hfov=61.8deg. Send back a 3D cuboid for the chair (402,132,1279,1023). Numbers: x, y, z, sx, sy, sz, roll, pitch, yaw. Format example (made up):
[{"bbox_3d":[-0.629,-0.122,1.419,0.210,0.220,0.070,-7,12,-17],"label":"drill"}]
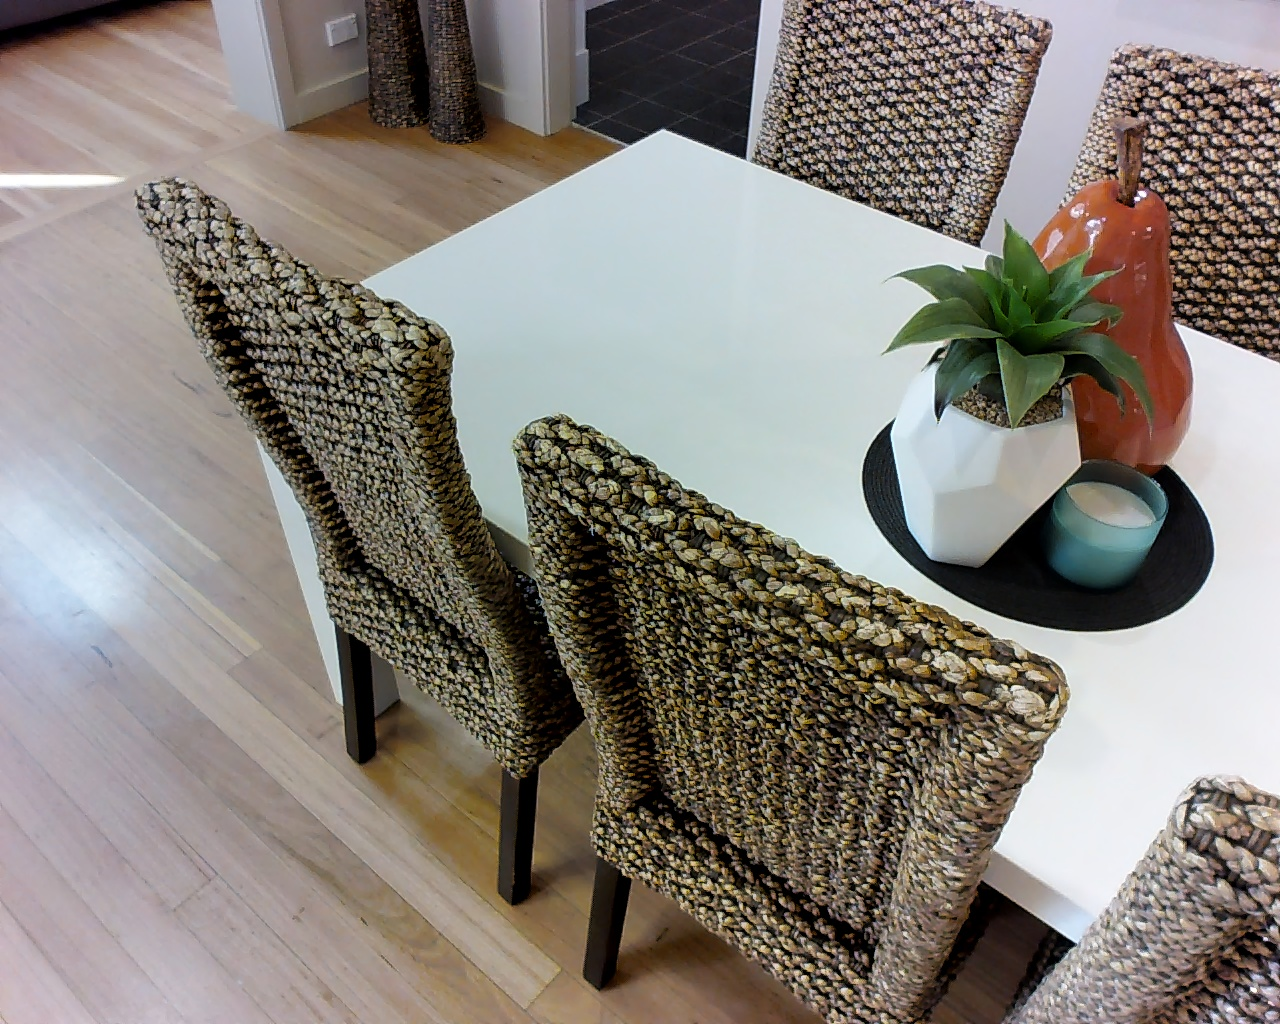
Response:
[{"bbox_3d":[0.210,0.270,1.200,0.540,1.080,0.600,27,49,24],"label":"chair"}]

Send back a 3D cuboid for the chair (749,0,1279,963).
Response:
[{"bbox_3d":[0.640,-0.030,1.530,0.620,1.070,0.640,27,48,24],"label":"chair"}]

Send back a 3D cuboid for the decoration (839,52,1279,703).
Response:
[{"bbox_3d":[0.440,-0.160,1.090,0.340,0.390,0.500,13,44,11],"label":"decoration"}]

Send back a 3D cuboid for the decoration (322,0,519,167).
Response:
[{"bbox_3d":[-0.690,-1.780,3.180,0.480,1.310,0.360,30,50,26],"label":"decoration"}]

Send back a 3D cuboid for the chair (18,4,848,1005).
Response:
[{"bbox_3d":[-0.200,0.020,1.450,0.540,1.080,0.630,30,50,26],"label":"chair"}]

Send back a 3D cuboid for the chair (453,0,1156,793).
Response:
[{"bbox_3d":[0.220,-0.250,1.770,0.640,1.090,0.700,30,50,26],"label":"chair"}]
